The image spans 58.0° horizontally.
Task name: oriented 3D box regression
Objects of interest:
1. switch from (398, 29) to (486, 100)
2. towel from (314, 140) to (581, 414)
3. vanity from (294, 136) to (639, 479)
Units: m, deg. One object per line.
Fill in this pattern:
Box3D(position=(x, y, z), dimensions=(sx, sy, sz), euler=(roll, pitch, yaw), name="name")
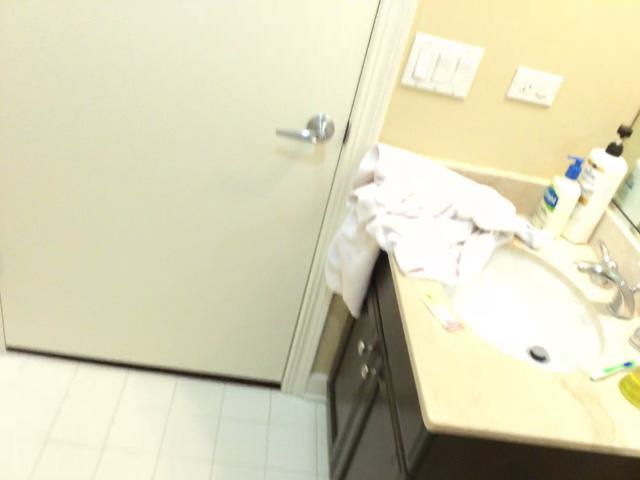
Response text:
Box3D(position=(0.270, -0.390, 1.290), dimensions=(0.160, 0.120, 0.020), euler=(11, 33, -8), name="switch")
Box3D(position=(0.250, 0.090, 1.390), dimensions=(0.430, 0.470, 0.360), euler=(11, 33, -8), name="towel")
Box3D(position=(0.340, 0.390, 1.390), dimensions=(0.630, 0.930, 0.750), euler=(11, 33, -8), name="vanity")
